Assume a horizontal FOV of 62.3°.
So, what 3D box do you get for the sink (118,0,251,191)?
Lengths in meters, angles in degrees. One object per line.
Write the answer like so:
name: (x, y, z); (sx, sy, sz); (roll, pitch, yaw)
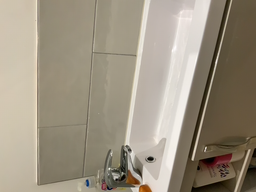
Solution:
sink: (0.110, 0.020, 0.580); (0.240, 0.130, 0.620); (36, 124, 58)
